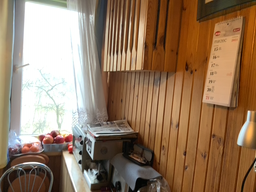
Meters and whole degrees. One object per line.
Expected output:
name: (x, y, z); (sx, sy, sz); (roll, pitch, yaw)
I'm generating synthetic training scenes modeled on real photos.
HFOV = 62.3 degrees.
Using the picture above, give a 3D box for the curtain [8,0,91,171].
curtain: (-0.720, -0.160, 1.980); (0.630, 1.650, 0.150); (3, 4, -22)
